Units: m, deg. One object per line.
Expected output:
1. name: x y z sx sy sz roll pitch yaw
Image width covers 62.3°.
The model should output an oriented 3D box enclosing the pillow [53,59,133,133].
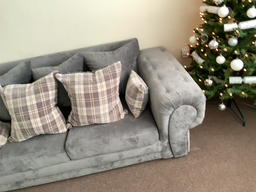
1. pillow: -0.240 -0.010 1.570 0.460 0.420 0.210 -13 10 -3

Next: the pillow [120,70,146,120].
1. pillow: 0.030 -0.020 1.700 0.120 0.310 0.310 -13 15 -1

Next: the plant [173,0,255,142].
1. plant: 0.860 -0.610 1.640 0.770 1.710 0.810 -12 34 -4

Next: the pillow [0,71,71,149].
1. pillow: -0.690 0.090 1.510 0.430 0.410 0.230 -13 21 -5
